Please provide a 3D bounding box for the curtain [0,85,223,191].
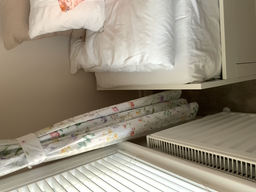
[{"bbox_3d":[-0.560,0.210,0.620,0.360,2.520,0.180,-4,95,53],"label":"curtain"}]
